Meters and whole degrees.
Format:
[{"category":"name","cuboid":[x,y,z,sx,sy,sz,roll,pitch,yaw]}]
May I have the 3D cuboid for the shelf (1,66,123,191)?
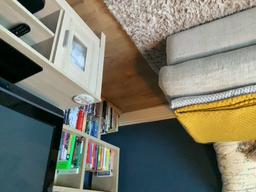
[{"category":"shelf","cuboid":[-0.450,0.810,1.690,0.360,1.810,0.980,-11,151,23]}]
